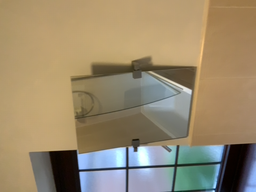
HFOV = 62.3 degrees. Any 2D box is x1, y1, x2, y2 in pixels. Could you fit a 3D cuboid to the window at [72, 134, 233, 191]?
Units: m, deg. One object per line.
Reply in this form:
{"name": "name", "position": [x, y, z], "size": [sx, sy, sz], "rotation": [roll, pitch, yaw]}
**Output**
{"name": "window", "position": [0.150, 0.550, 1.340], "size": [0.040, 0.940, 0.640], "rotation": [-105, 14, -72]}
